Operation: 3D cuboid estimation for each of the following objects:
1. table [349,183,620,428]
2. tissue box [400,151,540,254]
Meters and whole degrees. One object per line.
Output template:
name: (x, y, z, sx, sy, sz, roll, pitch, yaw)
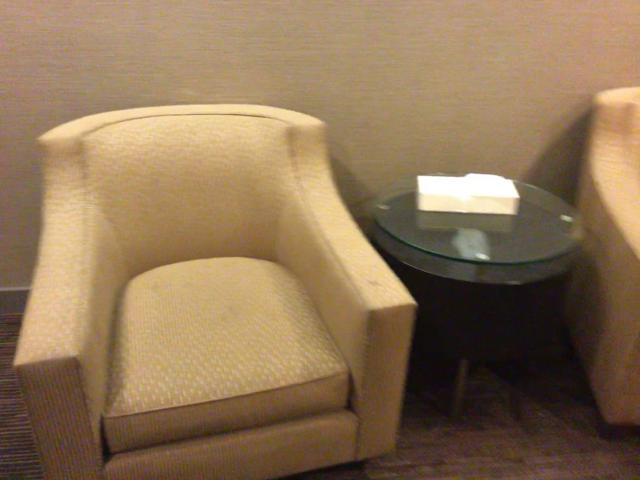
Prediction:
table: (0.440, 0.170, 1.810, 0.580, 0.540, 0.550, -1, 25, -7)
tissue box: (0.440, -0.120, 1.760, 0.320, 0.240, 0.240, -1, 25, -7)
